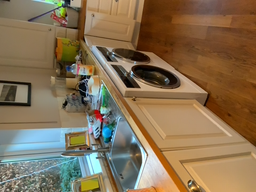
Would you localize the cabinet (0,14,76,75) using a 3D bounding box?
[{"bbox_3d":[-1.450,-0.730,3.010,0.410,1.290,0.720,-143,58,-61],"label":"cabinet"}]
